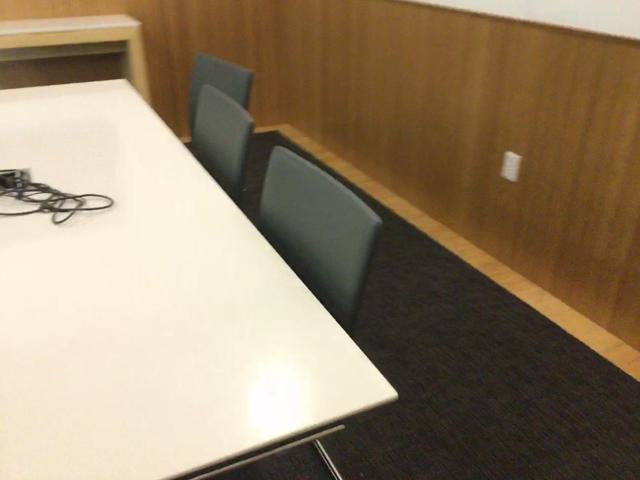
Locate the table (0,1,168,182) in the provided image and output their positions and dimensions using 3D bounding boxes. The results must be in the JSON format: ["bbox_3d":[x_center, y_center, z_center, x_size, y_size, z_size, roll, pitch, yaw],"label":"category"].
[{"bbox_3d":[-1.750,-0.850,3.300,1.570,0.880,0.480,-12,31,-25],"label":"table"}]
